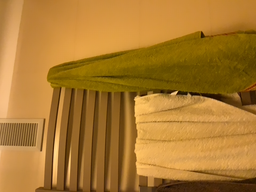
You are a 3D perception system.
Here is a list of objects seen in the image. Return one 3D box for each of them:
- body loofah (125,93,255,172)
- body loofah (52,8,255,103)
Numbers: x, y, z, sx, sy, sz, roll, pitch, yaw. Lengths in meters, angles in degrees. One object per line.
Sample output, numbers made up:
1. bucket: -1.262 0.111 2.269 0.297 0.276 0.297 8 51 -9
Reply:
1. body loofah: 0.390 0.120 0.700 0.220 0.770 0.220 50 -140 -76
2. body loofah: 0.310 -0.120 0.750 0.240 1.090 0.250 49 -138 -76
